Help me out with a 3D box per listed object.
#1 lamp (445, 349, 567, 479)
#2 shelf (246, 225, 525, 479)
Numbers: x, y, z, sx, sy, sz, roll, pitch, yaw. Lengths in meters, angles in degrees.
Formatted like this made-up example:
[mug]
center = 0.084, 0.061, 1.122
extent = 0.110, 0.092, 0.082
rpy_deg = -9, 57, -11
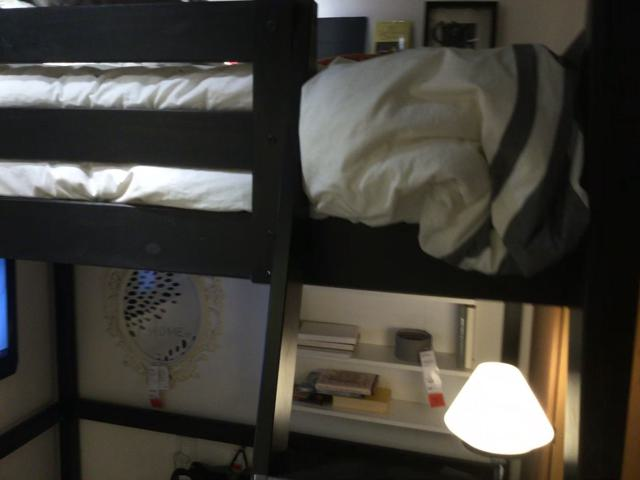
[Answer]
[lamp]
center = 0.460, 0.580, 1.480
extent = 0.260, 0.520, 0.240
rpy_deg = 2, 8, 15
[shelf]
center = 0.230, 0.410, 2.200
extent = 0.980, 0.880, 0.250
rpy_deg = 2, 8, 15
